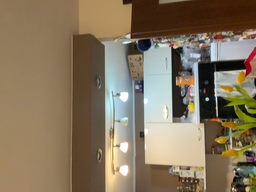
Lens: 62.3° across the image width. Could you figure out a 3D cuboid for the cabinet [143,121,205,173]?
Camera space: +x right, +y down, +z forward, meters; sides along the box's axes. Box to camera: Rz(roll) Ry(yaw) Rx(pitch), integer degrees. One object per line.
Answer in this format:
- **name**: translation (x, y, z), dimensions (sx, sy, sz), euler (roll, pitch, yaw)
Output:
- **cabinet**: translation (0.570, 0.610, 2.660), dimensions (0.310, 0.710, 0.570), euler (5, -96, -77)
